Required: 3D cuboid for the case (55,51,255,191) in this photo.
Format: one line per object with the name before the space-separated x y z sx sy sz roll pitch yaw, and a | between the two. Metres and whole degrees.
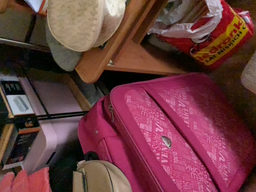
case | 0.230 0.200 0.860 0.400 0.770 0.520 -48 63 30
